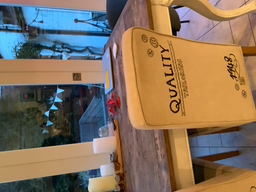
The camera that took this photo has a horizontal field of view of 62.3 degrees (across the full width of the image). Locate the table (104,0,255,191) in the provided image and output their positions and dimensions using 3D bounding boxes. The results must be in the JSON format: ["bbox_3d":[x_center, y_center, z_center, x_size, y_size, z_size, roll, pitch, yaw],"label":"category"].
[{"bbox_3d":[0.400,0.400,1.350,0.870,0.790,1.780,147,119,-68],"label":"table"}]
